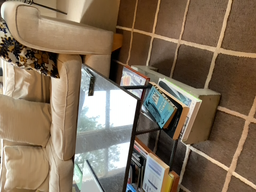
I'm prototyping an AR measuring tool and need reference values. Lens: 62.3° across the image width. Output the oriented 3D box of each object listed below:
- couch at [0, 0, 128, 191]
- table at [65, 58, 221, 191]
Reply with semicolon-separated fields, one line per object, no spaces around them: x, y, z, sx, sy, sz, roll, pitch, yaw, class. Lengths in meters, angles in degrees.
-0.760;0.350;1.960;0.960;0.770;2.190;35;121;50;couch
-0.050;0.560;1.210;0.550;0.430;1.420;34;121;50;table
